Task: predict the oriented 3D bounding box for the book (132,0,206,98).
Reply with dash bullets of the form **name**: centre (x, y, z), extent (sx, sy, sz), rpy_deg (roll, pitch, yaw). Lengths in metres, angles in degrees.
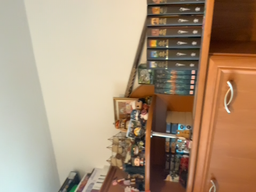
- **book**: centre (0.190, -0.270, 1.020), extent (0.200, 0.300, 0.500), rpy_deg (-57, -31, -64)
